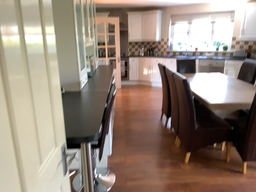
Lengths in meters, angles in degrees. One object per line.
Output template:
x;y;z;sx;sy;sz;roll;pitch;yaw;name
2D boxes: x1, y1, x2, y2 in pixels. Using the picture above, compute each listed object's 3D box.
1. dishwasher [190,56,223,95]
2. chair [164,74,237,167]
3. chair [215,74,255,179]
2.110;-0.580;5.700;0.630;0.890;0.620;9;18;31;dishwasher
0.810;0.270;2.540;0.630;0.980;0.470;-2;16;-4;chair
1.370;0.300;2.390;0.400;0.980;0.630;-3;16;-6;chair
